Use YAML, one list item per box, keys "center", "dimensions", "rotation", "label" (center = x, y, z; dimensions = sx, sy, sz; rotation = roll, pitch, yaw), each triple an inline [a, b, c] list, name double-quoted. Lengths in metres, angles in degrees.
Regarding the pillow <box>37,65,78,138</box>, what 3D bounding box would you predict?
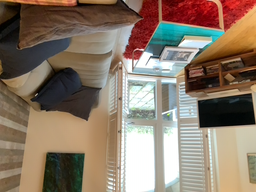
- center: [-0.820, 0.060, 2.590]
  dimensions: [0.240, 0.650, 0.600]
  rotation: [0, -140, -3]
  label: "pillow"
